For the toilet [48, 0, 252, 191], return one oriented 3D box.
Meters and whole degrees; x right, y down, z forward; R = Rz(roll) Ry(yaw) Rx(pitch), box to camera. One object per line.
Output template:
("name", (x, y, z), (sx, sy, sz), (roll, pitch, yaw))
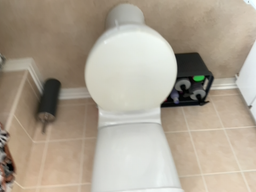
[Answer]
("toilet", (0.030, 0.000, 0.960), (0.440, 0.790, 0.660), (-4, 140, -2))
